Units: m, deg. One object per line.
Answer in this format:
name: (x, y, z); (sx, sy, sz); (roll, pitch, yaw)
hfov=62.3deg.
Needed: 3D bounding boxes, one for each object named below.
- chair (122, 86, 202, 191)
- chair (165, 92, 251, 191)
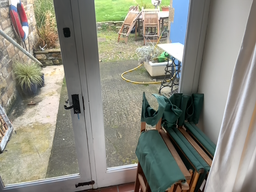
chair: (0.150, 0.480, 1.420); (0.250, 0.910, 0.590); (-6, 28, -12)
chair: (0.480, 0.480, 1.510); (0.150, 0.840, 0.590); (-6, 28, -12)
